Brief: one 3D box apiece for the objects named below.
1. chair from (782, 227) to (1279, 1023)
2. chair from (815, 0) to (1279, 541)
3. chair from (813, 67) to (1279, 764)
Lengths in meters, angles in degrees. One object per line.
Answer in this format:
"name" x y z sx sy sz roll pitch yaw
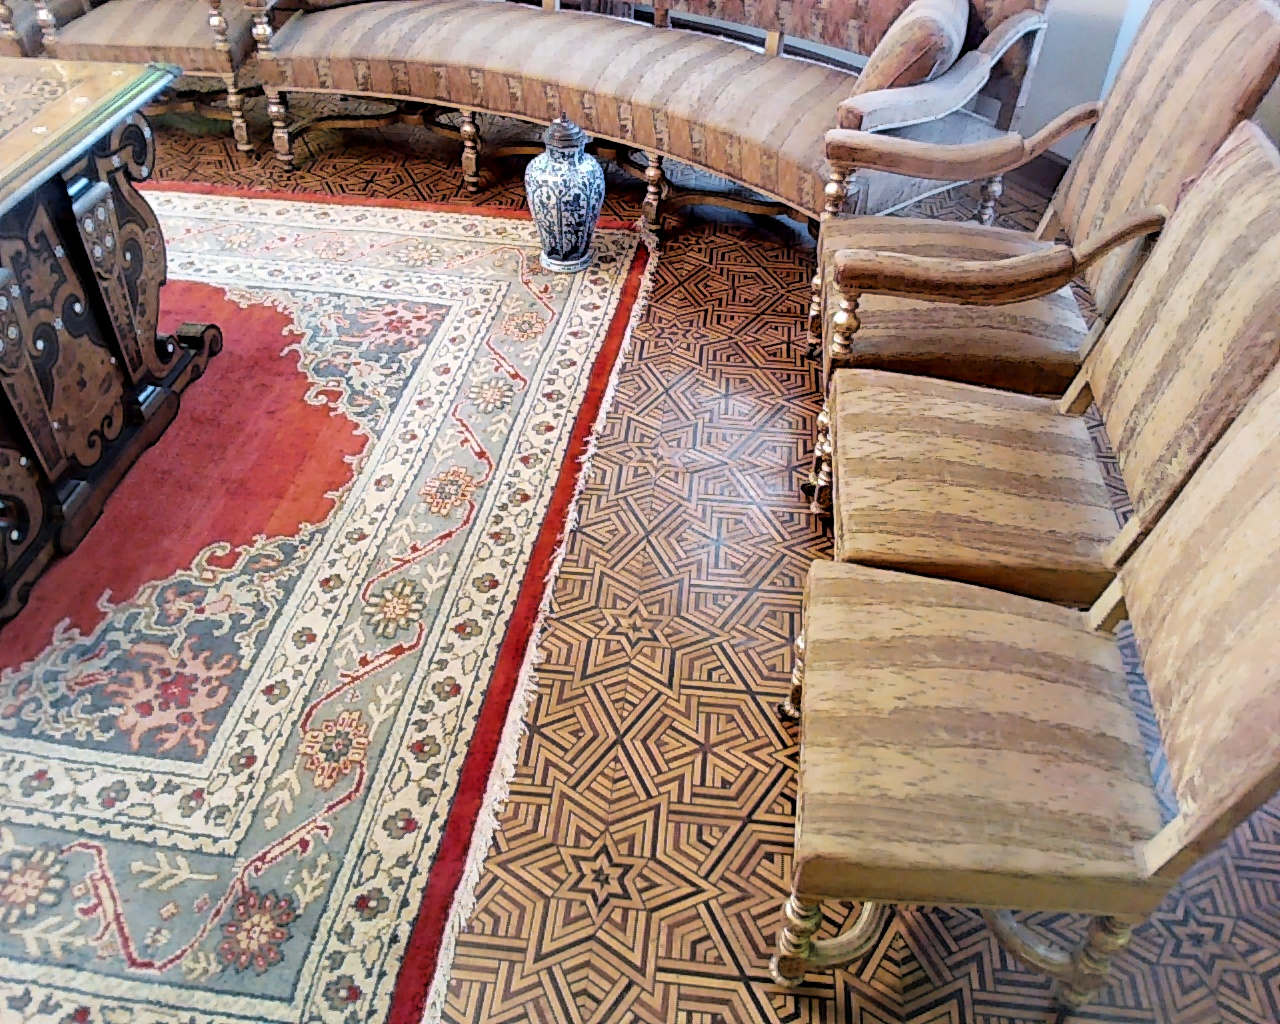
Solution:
"chair" 0.620 0.240 1.570 0.680 1.070 0.580 7 42 5
"chair" 0.870 -0.650 2.480 0.770 1.170 0.750 5 42 4
"chair" 0.750 -0.150 2.010 0.710 1.070 0.640 5 42 4
